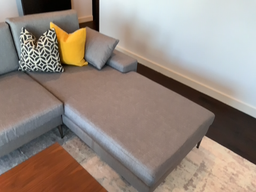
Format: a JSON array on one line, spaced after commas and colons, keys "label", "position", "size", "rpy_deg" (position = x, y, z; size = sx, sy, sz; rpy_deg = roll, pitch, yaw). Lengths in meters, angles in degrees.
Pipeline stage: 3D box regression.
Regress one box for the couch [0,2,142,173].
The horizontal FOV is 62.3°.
[{"label": "couch", "position": [-1.070, -0.070, 1.690], "size": [0.910, 0.830, 2.500], "rpy_deg": [31, 42, 30]}]
